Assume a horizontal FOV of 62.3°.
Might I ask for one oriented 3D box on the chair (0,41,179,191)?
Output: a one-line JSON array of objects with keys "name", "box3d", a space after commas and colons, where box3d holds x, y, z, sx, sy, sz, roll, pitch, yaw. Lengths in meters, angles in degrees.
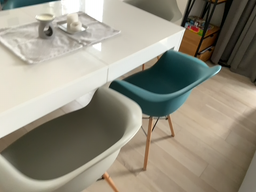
[{"name": "chair", "box3d": [-0.280, 0.300, 1.070, 0.610, 0.820, 0.620, 35, 46, 26]}]
